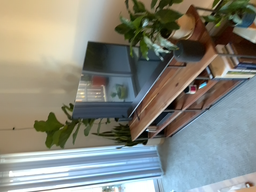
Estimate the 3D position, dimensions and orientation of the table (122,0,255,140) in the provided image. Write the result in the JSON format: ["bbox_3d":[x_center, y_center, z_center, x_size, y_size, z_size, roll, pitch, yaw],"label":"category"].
[{"bbox_3d":[0.470,-0.100,2.170,1.580,0.560,0.590,122,143,-55],"label":"table"}]
